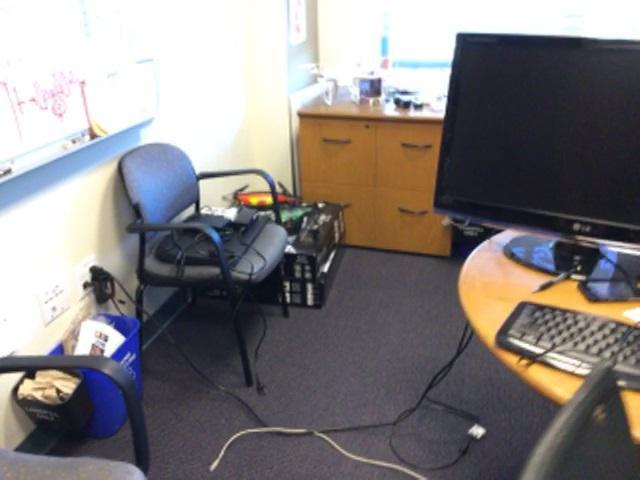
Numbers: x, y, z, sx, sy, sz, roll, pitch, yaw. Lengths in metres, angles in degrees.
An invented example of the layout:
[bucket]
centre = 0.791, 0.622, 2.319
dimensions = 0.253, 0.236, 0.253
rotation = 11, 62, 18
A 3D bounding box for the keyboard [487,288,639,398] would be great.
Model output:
[keyboard]
centre = 0.540, 0.190, 0.980
dimensions = 0.460, 0.040, 0.200
rotation = 11, 27, 25
